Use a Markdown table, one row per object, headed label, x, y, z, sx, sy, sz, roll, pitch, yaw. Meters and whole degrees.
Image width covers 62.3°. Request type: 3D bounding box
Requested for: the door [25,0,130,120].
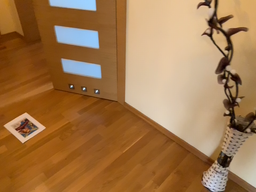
| label | x | y | z | sx | sy | sz | roll | pitch | yaw |
| --- | --- | --- | --- | --- | --- | --- | --- | --- | --- |
| door | -0.400 | -0.790 | 1.530 | 0.850 | 2.250 | 0.130 | 16 | 41 | 17 |
